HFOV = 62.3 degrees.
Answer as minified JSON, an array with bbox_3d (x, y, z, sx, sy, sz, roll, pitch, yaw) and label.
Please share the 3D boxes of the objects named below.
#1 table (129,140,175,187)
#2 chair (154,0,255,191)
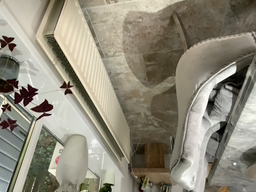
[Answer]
[{"bbox_3d":[0.370,1.040,3.240,0.630,0.520,0.560,-2,145,8],"label":"table"},{"bbox_3d":[0.570,-0.020,1.280,0.700,0.990,0.610,-7,144,14],"label":"chair"}]
